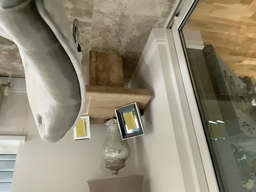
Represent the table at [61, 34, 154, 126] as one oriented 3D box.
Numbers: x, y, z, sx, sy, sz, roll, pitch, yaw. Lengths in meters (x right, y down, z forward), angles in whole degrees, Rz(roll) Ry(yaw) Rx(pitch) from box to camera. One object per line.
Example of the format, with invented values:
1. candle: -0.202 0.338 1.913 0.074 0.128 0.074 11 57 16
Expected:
1. table: -0.210 -0.090 1.800 0.630 0.500 0.600 3 151 -14
